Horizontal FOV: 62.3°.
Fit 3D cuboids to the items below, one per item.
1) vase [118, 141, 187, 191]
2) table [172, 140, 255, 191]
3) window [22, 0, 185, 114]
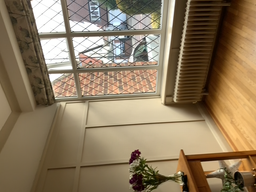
[{"bbox_3d":[0.190,0.720,1.970,0.470,0.530,0.310,-99,7,-58],"label":"vase"},{"bbox_3d":[0.880,0.930,1.620,1.180,0.750,0.370,-98,7,-55],"label":"table"},{"bbox_3d":[-0.250,-0.560,2.810,0.230,1.800,1.690,-99,7,-57],"label":"window"}]
